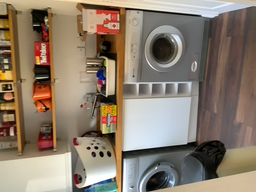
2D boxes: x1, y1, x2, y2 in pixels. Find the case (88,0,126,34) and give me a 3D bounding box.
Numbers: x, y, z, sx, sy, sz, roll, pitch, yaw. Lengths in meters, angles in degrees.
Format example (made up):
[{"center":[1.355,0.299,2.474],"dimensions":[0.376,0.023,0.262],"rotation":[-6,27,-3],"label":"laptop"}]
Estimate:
[{"center":[-0.190,-0.650,1.790],"dimensions":[0.330,0.250,0.210],"rotation":[-146,56,-67],"label":"case"}]
